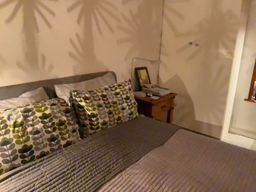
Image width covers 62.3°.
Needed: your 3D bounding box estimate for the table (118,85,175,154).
[{"bbox_3d":[0.230,0.260,2.700,0.490,0.640,0.500,15,21,36],"label":"table"}]
